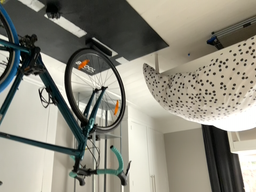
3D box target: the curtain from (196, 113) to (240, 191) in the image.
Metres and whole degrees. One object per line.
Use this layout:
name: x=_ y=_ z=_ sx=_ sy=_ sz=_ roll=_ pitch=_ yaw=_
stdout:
curtain: x=1.560 y=1.480 z=3.530 sx=0.480 sy=2.350 sz=0.130 roll=-18 pitch=156 yaw=36
